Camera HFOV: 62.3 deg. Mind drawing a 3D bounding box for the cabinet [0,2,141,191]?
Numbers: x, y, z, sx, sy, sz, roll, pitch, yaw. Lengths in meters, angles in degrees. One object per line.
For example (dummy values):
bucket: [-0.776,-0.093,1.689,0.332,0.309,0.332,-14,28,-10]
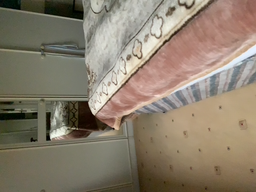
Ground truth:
cabinet: [-1.070,0.290,2.180,0.640,2.180,2.330,150,116,-61]
